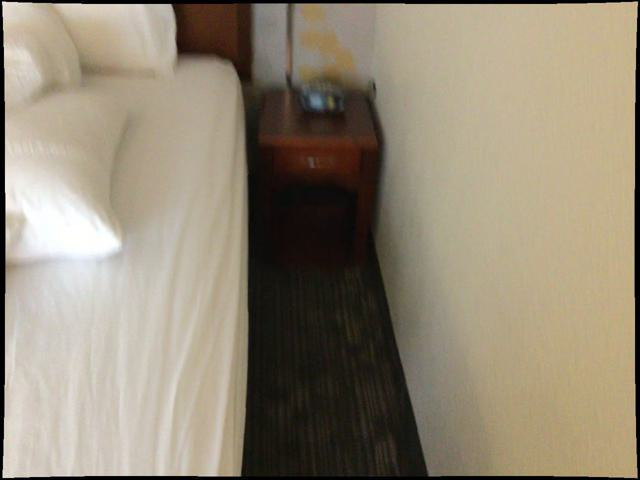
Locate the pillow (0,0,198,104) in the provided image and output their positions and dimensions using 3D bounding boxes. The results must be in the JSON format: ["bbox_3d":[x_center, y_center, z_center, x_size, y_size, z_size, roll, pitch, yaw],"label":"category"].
[{"bbox_3d":[-0.809,-0.701,1.820,0.759,0.340,0.490,0,39,-5],"label":"pillow"}]

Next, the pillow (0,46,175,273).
[{"bbox_3d":[-0.589,-0.230,1.360,0.380,0.190,0.700,0,39,-5],"label":"pillow"}]
